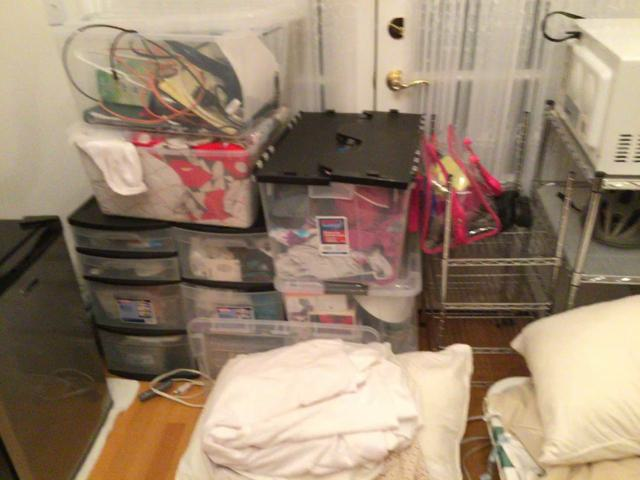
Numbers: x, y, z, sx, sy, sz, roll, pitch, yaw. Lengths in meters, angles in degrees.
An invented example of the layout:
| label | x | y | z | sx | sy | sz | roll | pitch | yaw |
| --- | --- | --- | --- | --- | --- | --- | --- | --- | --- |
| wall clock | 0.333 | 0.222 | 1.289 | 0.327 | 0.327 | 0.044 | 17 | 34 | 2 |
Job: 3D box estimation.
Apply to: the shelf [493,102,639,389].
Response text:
| label | x | y | z | sx | sy | sz | roll | pitch | yaw |
| --- | --- | --- | --- | --- | --- | --- | --- | --- | --- |
| shelf | 0.800 | -0.020 | 1.640 | 0.430 | 0.610 | 0.610 | 0 | 25 | 5 |
